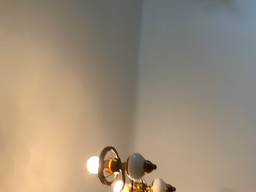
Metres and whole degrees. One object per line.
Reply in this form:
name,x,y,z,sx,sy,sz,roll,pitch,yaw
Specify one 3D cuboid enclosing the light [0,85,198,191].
light,-0.100,0.420,0.870,0.650,0.680,0.370,-22,-158,-14
